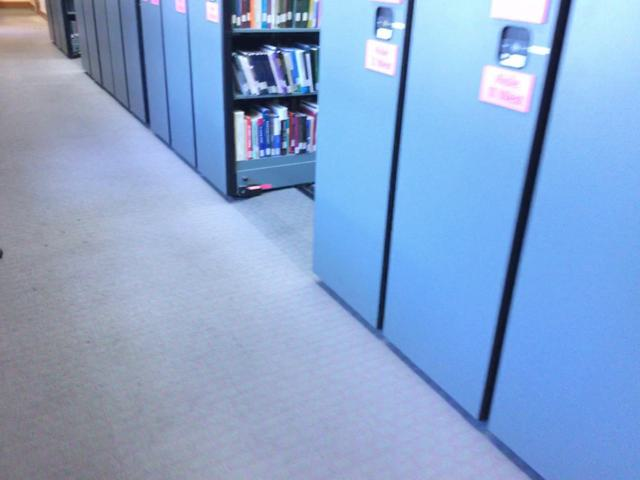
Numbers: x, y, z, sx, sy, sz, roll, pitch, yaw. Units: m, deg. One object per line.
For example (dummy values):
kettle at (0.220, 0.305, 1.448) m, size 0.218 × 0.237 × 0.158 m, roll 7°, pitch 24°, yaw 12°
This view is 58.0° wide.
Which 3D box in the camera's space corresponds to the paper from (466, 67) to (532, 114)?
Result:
paper at (0.460, -0.390, 1.500) m, size 0.030 × 0.100 × 0.180 m, roll -8°, pitch 23°, yaw -28°

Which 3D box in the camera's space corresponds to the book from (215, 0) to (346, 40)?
book at (-0.220, -1.320, 3.220) m, size 0.640 × 0.360 × 0.340 m, roll -8°, pitch 23°, yaw -28°

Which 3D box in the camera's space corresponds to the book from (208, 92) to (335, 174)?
book at (-0.310, -0.680, 3.580) m, size 0.630 × 0.400 × 0.480 m, roll -8°, pitch 23°, yaw -28°

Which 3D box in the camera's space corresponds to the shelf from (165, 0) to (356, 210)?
shelf at (-0.400, -1.250, 3.500) m, size 0.800 × 1.860 × 0.990 m, roll -8°, pitch 23°, yaw -28°

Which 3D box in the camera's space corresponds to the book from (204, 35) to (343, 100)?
book at (-0.280, -1.020, 3.410) m, size 0.680 × 0.320 × 0.450 m, roll -8°, pitch 23°, yaw -28°
